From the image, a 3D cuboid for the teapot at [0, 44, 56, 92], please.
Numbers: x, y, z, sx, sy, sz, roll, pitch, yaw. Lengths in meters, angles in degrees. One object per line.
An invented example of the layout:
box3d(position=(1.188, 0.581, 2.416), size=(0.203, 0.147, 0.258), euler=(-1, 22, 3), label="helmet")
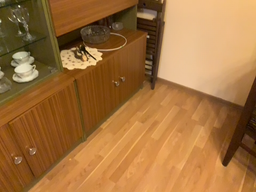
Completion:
box3d(position=(-0.690, -0.190, 1.340), size=(0.370, 0.110, 0.250), euler=(21, 42, 25), label="teapot")
